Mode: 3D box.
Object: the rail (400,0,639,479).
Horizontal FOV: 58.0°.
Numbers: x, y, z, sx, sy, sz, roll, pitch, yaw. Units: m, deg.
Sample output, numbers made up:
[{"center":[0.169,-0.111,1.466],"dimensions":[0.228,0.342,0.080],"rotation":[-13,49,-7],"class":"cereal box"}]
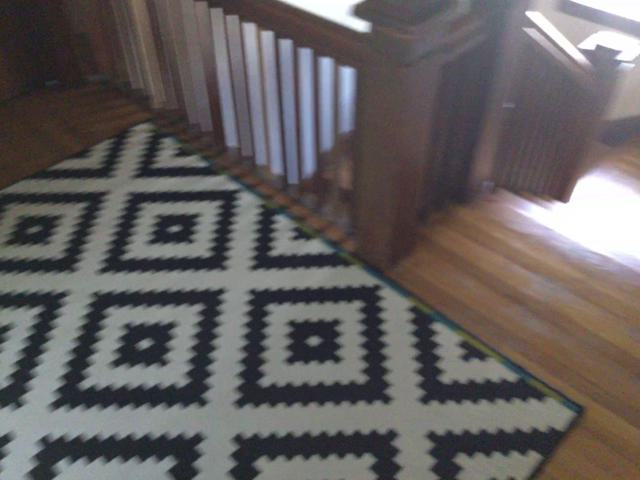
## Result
[{"center":[1.260,-0.100,2.190],"dimensions":[1.190,1.870,1.240],"rotation":[32,48,32],"class":"rail"}]
